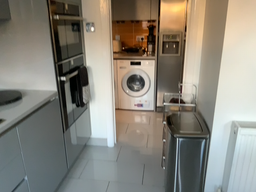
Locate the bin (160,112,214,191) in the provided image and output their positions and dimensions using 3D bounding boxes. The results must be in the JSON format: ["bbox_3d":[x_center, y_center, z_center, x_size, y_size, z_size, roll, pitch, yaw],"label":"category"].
[{"bbox_3d":[0.460,0.530,1.770,0.350,0.680,0.350,3,19,10],"label":"bin"}]
